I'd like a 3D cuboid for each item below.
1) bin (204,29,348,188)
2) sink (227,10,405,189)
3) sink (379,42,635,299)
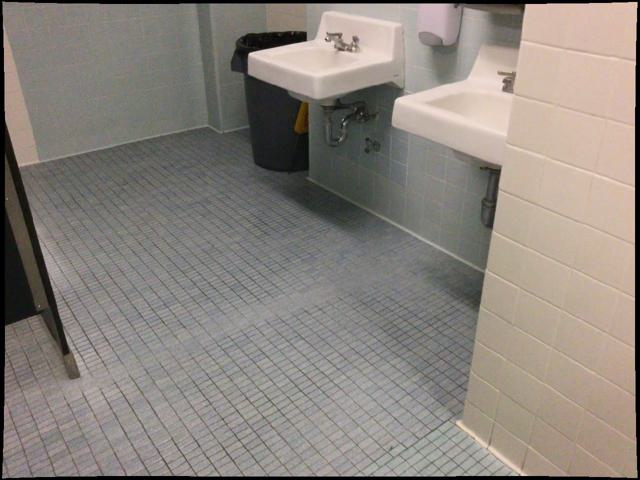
[{"bbox_3d":[-0.239,-0.792,3.360,0.559,0.691,0.590,-23,36,-32],"label":"bin"},{"bbox_3d":[-0.020,-0.652,2.560,0.479,0.581,0.600,-23,36,-32],"label":"sink"},{"bbox_3d":[0.578,-0.271,1.930,0.479,0.611,0.570,-23,36,-32],"label":"sink"}]
